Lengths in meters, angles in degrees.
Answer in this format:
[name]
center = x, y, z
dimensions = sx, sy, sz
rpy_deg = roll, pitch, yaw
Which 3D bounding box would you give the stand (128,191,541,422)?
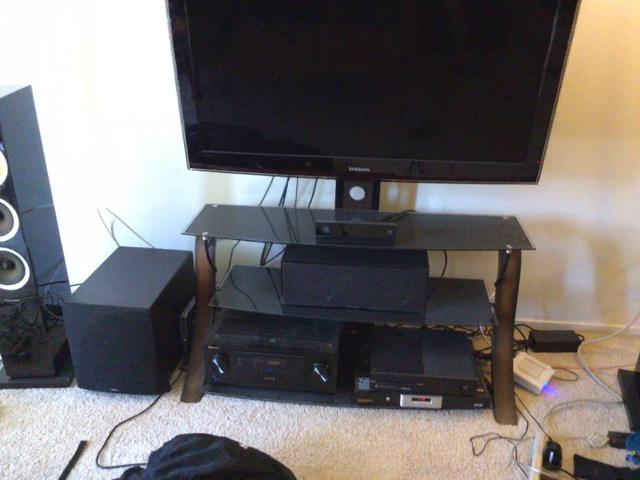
[stand]
center = 0.060, 0.200, 2.040
dimensions = 1.210, 0.620, 0.560
rpy_deg = -1, 15, 6

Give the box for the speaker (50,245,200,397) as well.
[speaker]
center = -0.660, 0.270, 2.040
dimensions = 0.330, 0.410, 0.380
rpy_deg = -1, 15, 6
